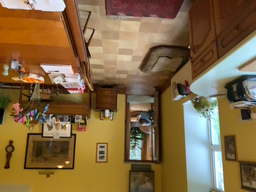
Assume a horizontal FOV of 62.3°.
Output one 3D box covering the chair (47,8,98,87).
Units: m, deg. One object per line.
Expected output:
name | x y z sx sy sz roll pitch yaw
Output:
chair | -0.630 -0.560 2.520 0.480 0.850 0.300 2 167 -5

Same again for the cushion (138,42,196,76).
cushion | 0.620 -0.610 3.780 0.670 0.120 1.200 3 167 -8
